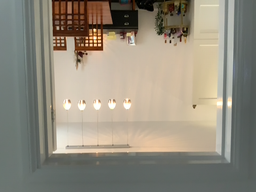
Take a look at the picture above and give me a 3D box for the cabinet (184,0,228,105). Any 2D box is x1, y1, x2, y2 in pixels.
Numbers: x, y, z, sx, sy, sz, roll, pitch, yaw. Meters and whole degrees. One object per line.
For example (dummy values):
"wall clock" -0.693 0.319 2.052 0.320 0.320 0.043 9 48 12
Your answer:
"cabinet" 1.530 -0.930 4.250 0.620 2.140 0.570 -1 -175 1
